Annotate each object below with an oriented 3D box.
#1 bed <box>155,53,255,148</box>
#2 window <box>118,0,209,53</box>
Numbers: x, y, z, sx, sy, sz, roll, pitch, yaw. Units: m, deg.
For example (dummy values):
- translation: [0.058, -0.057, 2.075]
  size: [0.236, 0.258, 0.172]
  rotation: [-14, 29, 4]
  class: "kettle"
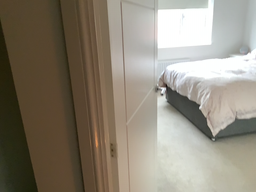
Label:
- translation: [1.770, -0.120, 3.440]
  size: [2.190, 0.760, 1.670]
  rotation: [-7, 20, -11]
  class: "bed"
- translation: [0.760, -1.660, 4.410]
  size: [1.860, 1.330, 0.280]
  rotation: [-7, 20, -12]
  class: "window"
